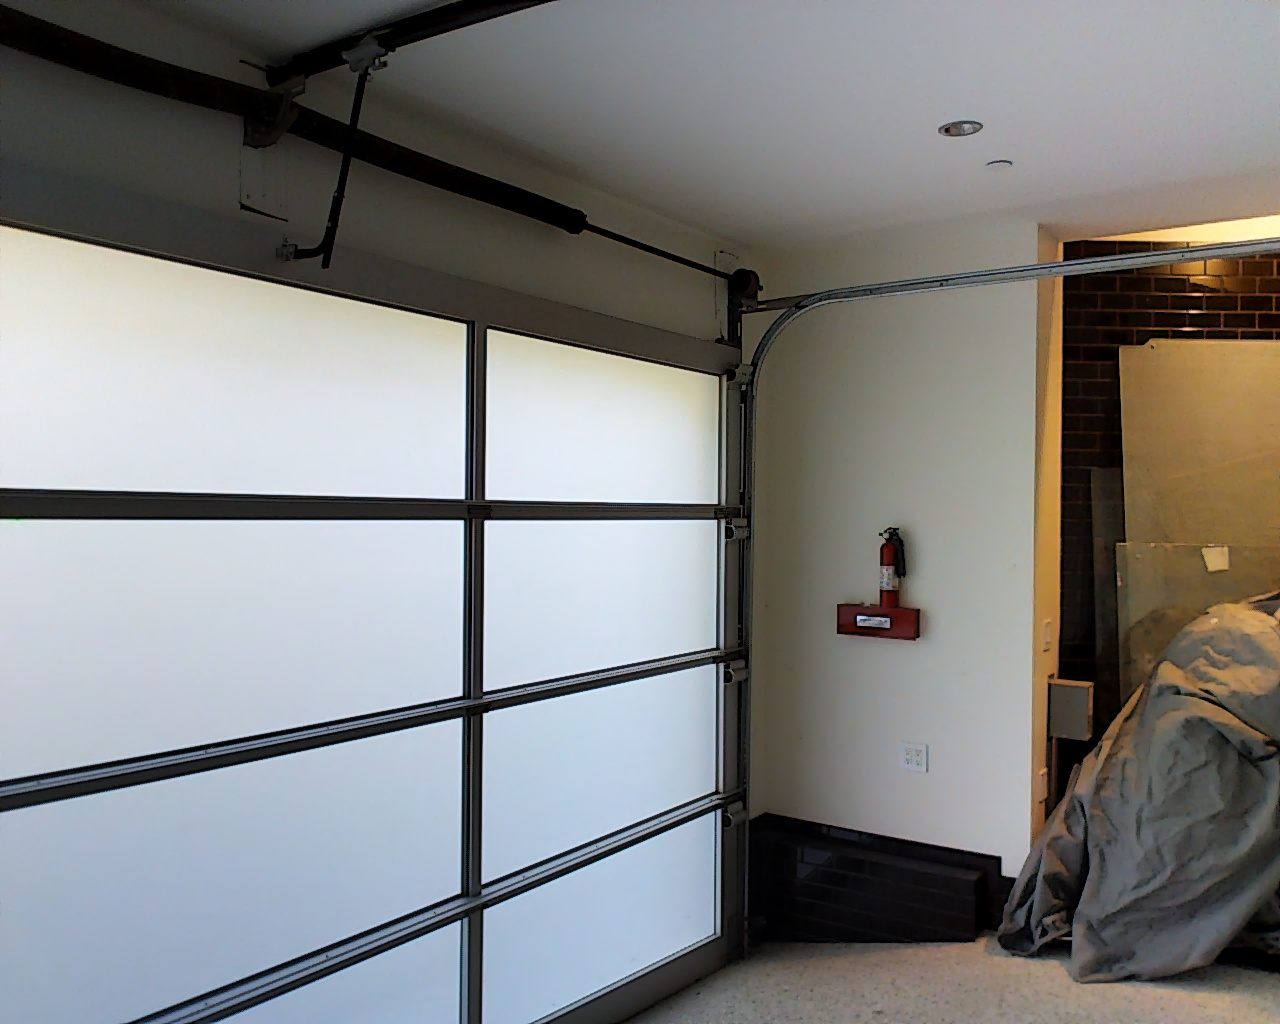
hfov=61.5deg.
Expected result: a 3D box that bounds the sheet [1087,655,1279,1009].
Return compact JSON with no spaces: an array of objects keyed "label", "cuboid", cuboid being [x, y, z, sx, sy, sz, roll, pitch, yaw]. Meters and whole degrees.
[{"label":"sheet","cuboid":[2.120,1.140,3.970,0.800,1.150,0.330,-1,-9,34]}]
